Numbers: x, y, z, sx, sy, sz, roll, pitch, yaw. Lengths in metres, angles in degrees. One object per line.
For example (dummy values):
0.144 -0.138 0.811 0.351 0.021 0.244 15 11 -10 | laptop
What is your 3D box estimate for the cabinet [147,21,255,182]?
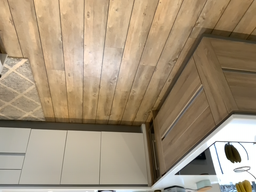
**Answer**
0.680 0.190 2.100 0.510 0.900 1.450 4 144 -11 | cabinet
